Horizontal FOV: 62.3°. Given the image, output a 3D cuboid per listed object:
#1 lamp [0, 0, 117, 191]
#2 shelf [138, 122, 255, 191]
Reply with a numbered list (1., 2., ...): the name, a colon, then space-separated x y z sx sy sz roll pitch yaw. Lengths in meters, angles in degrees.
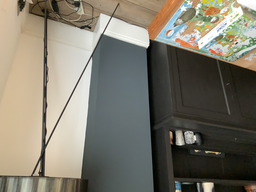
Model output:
1. lamp: -0.460 -0.020 1.440 0.570 1.750 0.550 12 152 -25
2. shelf: 0.810 1.020 1.750 1.370 1.390 0.410 11 153 -22
